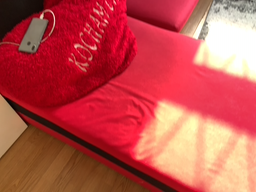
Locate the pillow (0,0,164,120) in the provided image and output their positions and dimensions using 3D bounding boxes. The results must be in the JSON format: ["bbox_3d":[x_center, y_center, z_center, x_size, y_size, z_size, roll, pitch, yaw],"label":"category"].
[{"bbox_3d":[-0.230,-0.380,0.890,0.530,0.340,0.730,26,61,15],"label":"pillow"}]
